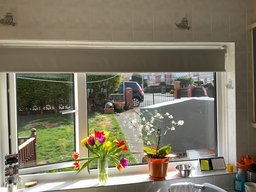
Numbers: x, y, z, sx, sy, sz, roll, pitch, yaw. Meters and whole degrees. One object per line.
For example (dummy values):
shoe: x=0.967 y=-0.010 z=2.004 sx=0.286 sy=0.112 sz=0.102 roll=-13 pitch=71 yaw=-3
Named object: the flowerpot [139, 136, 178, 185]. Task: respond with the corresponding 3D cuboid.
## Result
flowerpot: x=0.230 y=0.490 z=1.670 sx=0.210 sy=0.280 sz=0.300 roll=-2 pitch=2 yaw=-10
